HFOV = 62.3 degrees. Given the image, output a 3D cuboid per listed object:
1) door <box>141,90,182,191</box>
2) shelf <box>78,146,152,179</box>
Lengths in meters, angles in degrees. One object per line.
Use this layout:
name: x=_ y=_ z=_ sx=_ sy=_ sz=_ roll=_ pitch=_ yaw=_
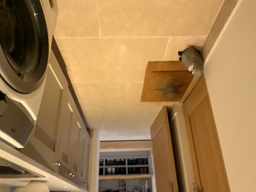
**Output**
door: x=0.390 y=1.090 z=2.500 sx=0.140 sy=2.140 sz=0.910 roll=2 pitch=153 yaw=-9
shelf: x=-0.270 y=1.440 z=4.570 sx=1.470 sy=0.540 sz=0.510 roll=-1 pitch=153 yaw=-2
